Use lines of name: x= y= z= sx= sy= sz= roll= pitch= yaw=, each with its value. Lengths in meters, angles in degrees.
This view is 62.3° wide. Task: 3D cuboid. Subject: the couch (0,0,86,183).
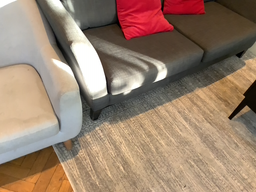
couch: x=-0.780 y=-0.090 z=1.220 sx=0.740 sy=0.700 sz=0.890 roll=-22 pitch=59 yaw=-25

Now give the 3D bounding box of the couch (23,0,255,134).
couch: x=0.340 y=-0.680 z=1.860 sx=2.090 sy=0.780 sz=0.980 roll=-22 pitch=59 yaw=-25
